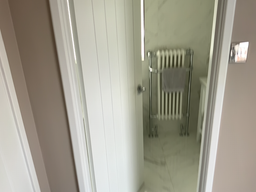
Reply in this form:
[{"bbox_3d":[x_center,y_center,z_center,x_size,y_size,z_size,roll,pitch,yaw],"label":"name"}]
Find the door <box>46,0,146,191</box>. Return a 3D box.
[{"bbox_3d":[-0.090,0.080,1.460,0.110,1.990,0.820,8,24,26],"label":"door"}]
